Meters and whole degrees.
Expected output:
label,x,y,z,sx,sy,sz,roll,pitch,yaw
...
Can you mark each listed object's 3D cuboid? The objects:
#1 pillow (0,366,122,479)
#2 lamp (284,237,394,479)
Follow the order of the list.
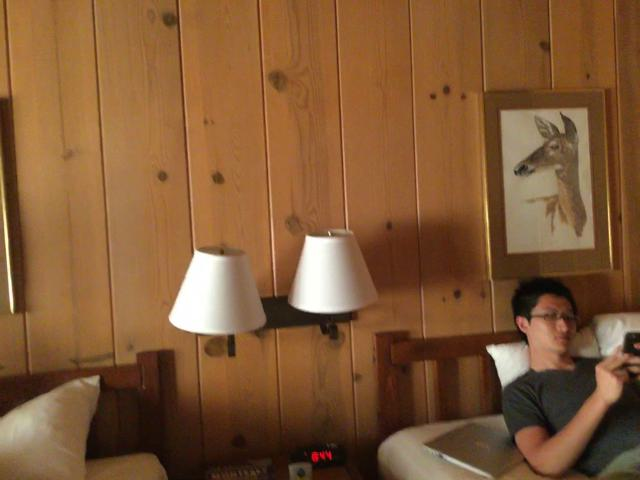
label,x,y,z,sx,sy,sz,roll,pitch,yaw
pillow,-1.000,0.610,1.700,0.700,0.330,0.460,-2,1,-7
lamp,0.050,0.390,1.850,0.280,0.790,0.290,-2,1,-7
